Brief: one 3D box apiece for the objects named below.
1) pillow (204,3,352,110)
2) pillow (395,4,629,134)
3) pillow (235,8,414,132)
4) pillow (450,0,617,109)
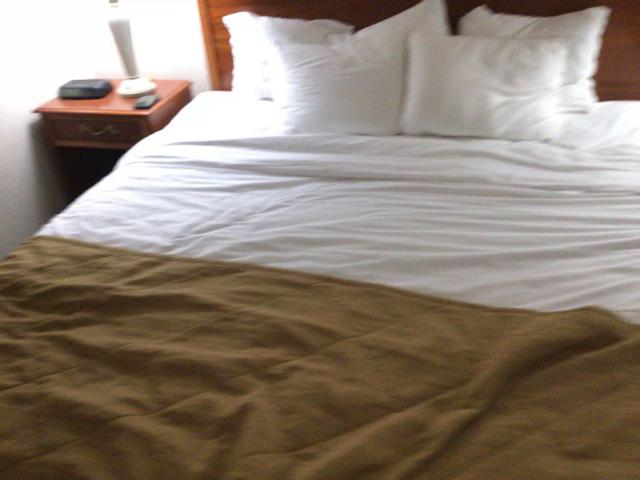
[{"bbox_3d":[-0.150,-0.710,2.280,0.480,0.340,0.190,3,54,16],"label":"pillow"},{"bbox_3d":[0.610,-0.540,1.920,0.650,0.450,0.180,3,74,16],"label":"pillow"},{"bbox_3d":[0.040,-0.580,2.060,0.530,0.450,0.170,3,69,16],"label":"pillow"},{"bbox_3d":[0.730,-0.660,2.050,0.510,0.340,0.170,3,50,16],"label":"pillow"}]
